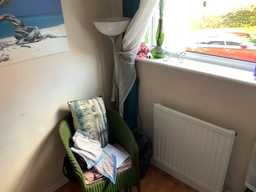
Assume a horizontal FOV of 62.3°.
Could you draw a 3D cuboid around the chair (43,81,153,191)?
[{"bbox_3d":[-0.220,0.430,1.750,0.550,0.850,0.600,-25,35,-38],"label":"chair"}]
